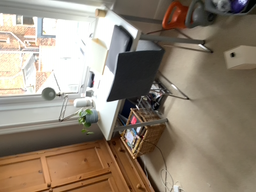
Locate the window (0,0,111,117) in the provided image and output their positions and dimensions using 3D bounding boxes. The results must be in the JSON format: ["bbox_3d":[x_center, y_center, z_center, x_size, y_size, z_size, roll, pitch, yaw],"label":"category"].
[{"bbox_3d":[-1.230,-0.300,1.700,0.120,2.080,1.220,55,138,41],"label":"window"}]

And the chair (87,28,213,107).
[{"bbox_3d":[0.170,-0.250,1.770,0.460,0.860,0.400,54,138,43],"label":"chair"}]
